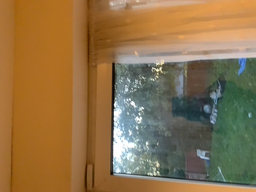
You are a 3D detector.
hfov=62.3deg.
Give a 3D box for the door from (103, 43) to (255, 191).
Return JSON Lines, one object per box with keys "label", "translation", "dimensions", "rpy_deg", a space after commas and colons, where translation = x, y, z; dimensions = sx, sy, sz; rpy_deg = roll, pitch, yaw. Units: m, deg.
{"label": "door", "translation": [0.820, 0.100, 0.910], "dimensions": [0.030, 1.940, 0.670], "rpy_deg": [0, -90, -78]}
